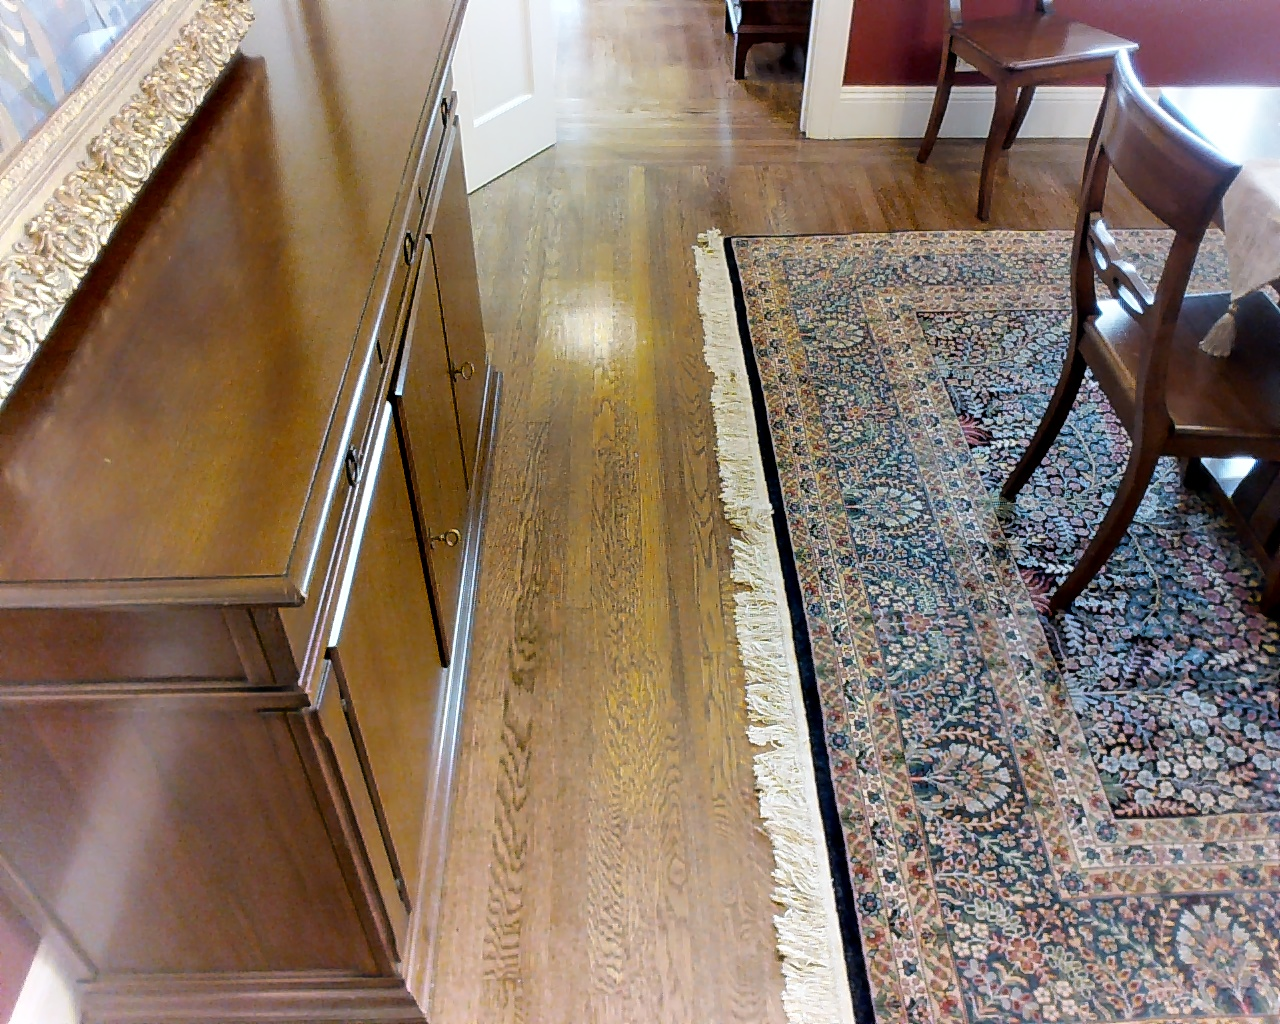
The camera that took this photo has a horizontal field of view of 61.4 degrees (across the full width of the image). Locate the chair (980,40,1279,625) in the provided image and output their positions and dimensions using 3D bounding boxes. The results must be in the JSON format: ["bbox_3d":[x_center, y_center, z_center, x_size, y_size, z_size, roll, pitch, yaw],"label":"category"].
[{"bbox_3d":[1.090,-0.280,1.940,0.640,0.960,0.420,-1,42,-2],"label":"chair"}]

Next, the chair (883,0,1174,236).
[{"bbox_3d":[1.160,-1.430,3.230,0.460,0.940,0.580,-16,45,-18],"label":"chair"}]
